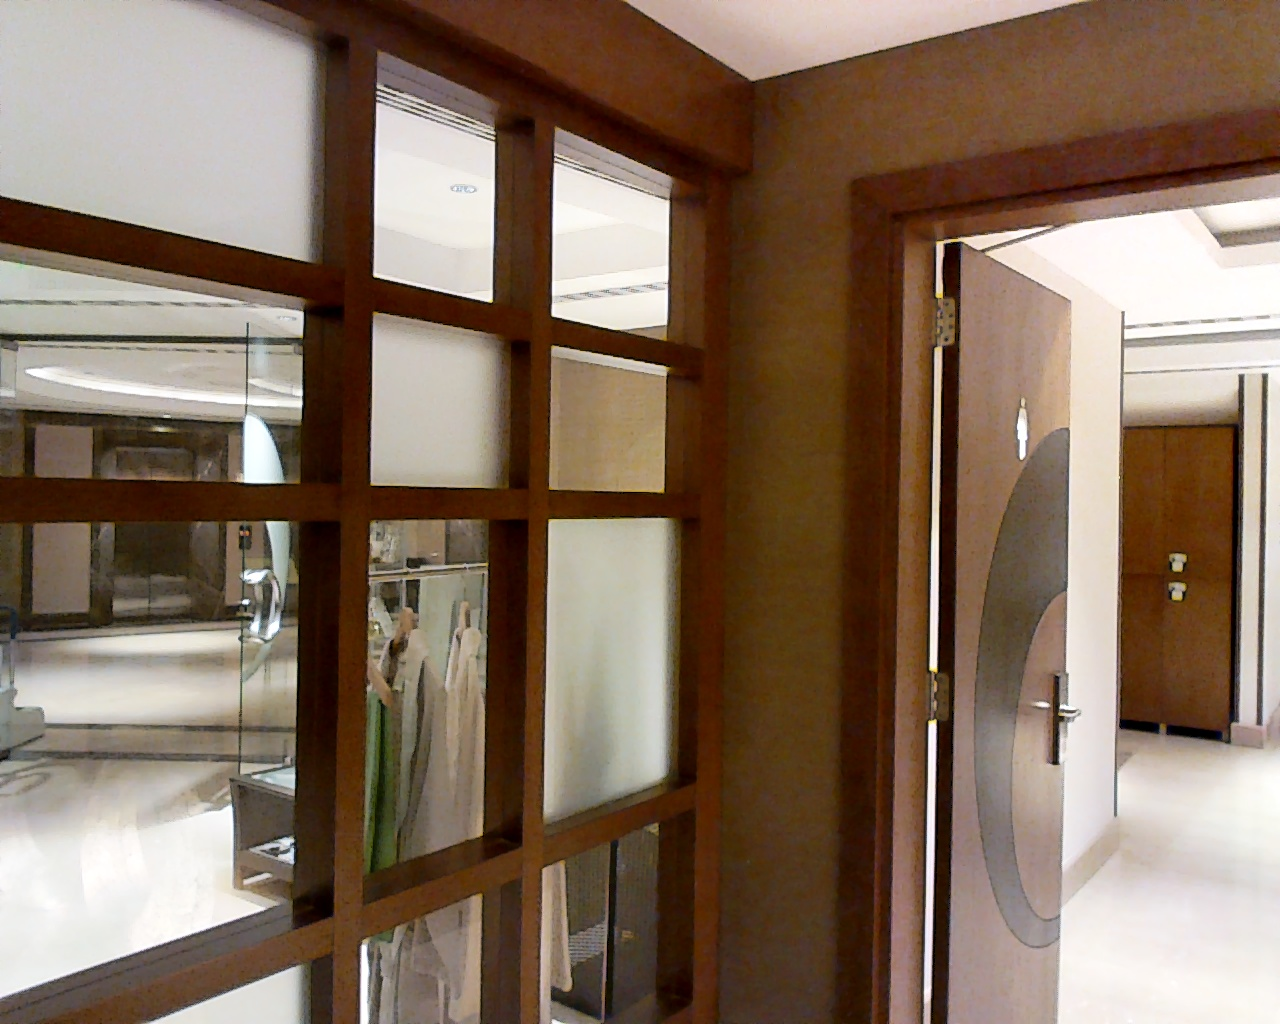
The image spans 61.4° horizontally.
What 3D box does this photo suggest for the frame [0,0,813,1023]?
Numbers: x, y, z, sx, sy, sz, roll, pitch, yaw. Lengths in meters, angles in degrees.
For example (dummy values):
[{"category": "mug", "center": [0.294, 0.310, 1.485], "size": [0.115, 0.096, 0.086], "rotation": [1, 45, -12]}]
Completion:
[{"category": "frame", "center": [-0.280, 0.420, 1.840], "size": [0.160, 2.401, 2.110], "rotation": [0, 0, 37]}]
